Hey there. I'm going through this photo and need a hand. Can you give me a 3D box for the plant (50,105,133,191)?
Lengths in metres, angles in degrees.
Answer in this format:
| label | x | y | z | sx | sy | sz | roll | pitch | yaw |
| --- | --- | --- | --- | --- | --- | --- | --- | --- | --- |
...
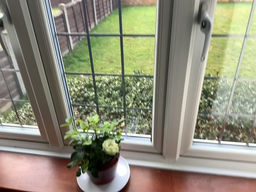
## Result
| label | x | y | z | sx | sy | sz | roll | pitch | yaw |
| --- | --- | --- | --- | --- | --- | --- | --- | --- | --- |
| plant | -0.110 | 0.210 | 0.810 | 0.220 | 0.240 | 0.240 | 5 | 32 | 10 |
